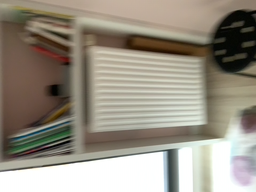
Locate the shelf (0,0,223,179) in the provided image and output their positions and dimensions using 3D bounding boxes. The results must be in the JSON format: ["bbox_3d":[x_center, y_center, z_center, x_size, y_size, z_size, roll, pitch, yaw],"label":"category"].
[{"bbox_3d":[-0.400,-0.040,1.290,0.370,2.350,0.850,-1,89,64],"label":"shelf"}]
